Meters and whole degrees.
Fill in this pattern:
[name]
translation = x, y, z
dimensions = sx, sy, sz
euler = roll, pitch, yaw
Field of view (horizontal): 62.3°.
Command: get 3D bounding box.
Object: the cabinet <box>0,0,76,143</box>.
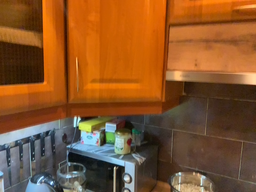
[cabinet]
translation = -0.440, -0.330, 0.650
dimensions = 0.320, 0.880, 0.440
euler = 6, 9, 29
